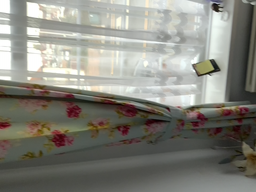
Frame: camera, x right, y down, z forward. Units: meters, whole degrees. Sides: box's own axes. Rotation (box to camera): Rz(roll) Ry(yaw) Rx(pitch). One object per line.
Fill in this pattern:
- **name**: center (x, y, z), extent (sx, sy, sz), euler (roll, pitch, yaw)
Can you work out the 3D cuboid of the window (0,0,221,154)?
- **window**: center (-0.160, -0.510, 1.000), extent (0.040, 1.470, 1.560), euler (-152, 63, -67)
